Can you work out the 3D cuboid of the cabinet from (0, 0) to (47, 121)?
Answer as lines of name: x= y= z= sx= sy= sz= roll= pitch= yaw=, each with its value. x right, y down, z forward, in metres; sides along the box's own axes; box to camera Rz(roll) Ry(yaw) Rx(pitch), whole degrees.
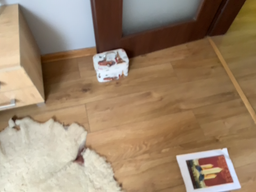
cabinet: x=-0.710 y=-0.150 z=1.100 sx=0.410 sy=0.470 sz=0.390 roll=-11 pitch=62 yaw=-10
